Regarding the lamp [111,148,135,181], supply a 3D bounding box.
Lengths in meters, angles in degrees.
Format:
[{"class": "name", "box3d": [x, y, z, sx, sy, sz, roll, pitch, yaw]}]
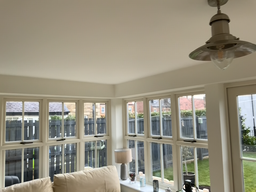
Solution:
[{"class": "lamp", "box3d": [-0.100, 1.200, 3.770, 0.300, 0.490, 0.310, 1, -6, -29]}]
